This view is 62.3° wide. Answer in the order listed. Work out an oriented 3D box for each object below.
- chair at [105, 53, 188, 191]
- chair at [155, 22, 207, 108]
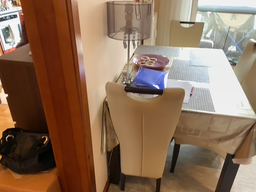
[{"bbox_3d":[0.120,0.240,1.530,0.420,0.940,0.530,5,30,7],"label":"chair"},{"bbox_3d":[0.660,-0.410,2.730,0.480,0.900,0.600,8,31,12],"label":"chair"}]
